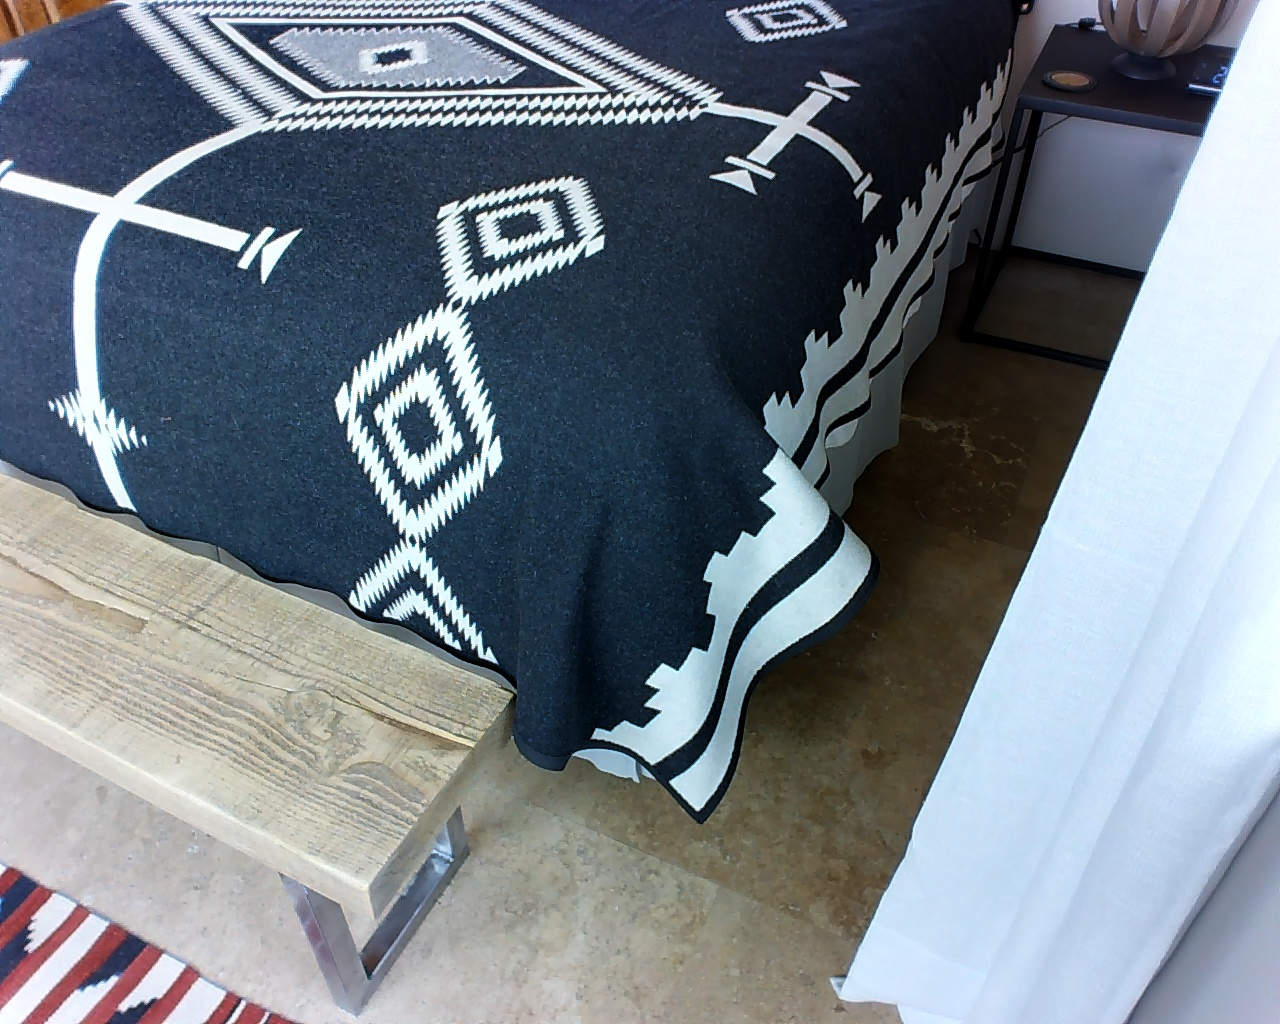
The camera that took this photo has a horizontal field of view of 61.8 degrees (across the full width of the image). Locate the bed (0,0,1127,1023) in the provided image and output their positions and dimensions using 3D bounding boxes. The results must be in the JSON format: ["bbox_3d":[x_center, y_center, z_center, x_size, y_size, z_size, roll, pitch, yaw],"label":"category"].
[{"bbox_3d":[-0.290,-0.740,2.080,2.040,1.250,2.290,17,44,19],"label":"bed"}]
